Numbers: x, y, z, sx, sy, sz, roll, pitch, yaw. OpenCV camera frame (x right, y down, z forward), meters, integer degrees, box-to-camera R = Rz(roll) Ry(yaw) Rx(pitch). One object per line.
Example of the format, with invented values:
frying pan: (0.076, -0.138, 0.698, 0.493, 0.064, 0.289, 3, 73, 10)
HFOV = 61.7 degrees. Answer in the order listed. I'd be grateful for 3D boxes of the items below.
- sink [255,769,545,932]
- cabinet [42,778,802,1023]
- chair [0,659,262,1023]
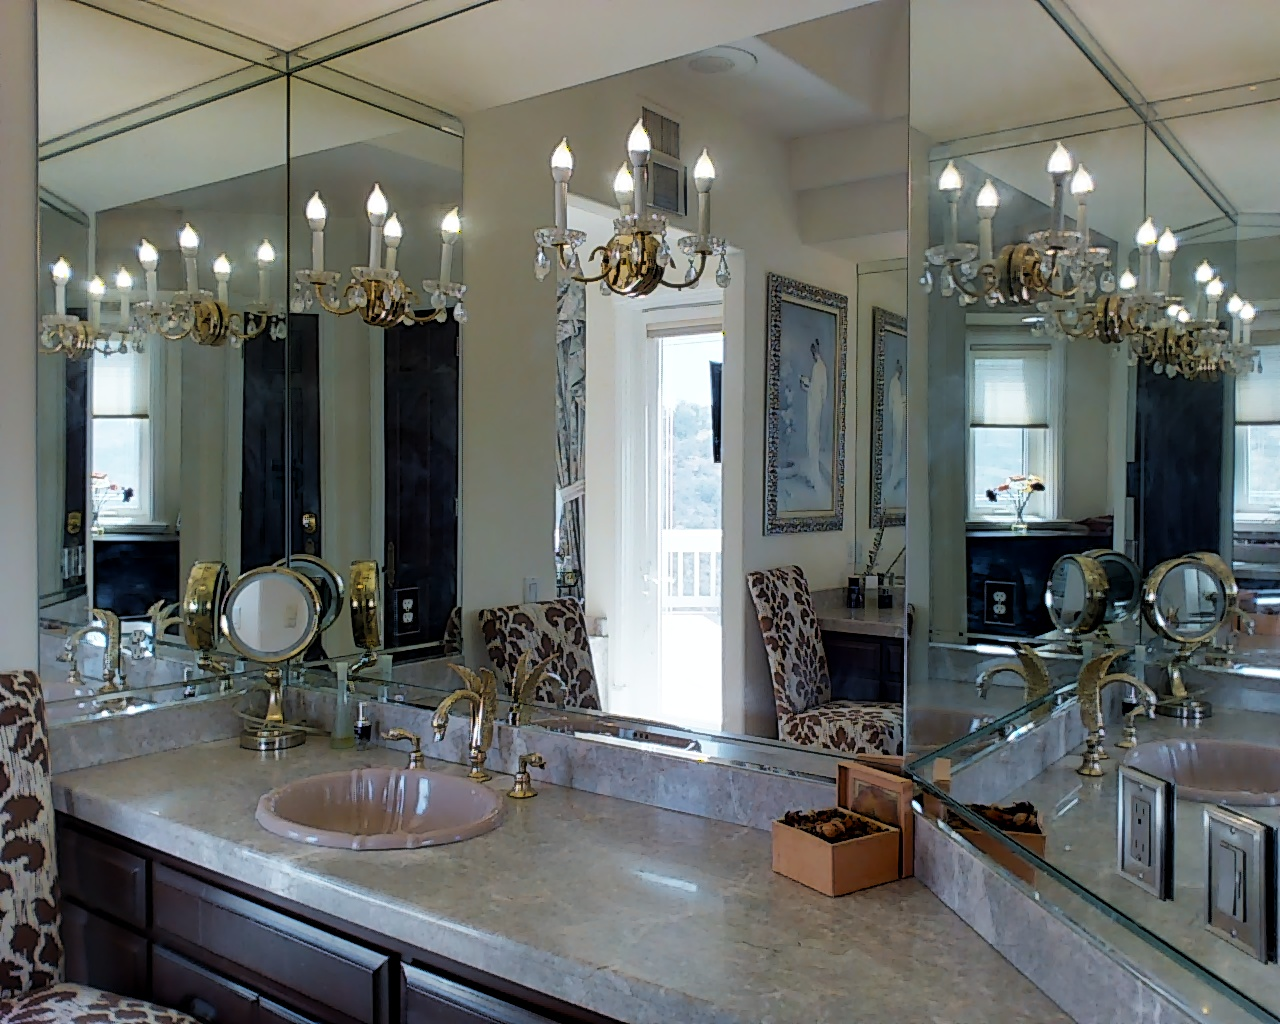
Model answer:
sink: (-0.480, 0.650, 2.120, 0.510, 0.140, 0.300, 1, 1, 37)
cabinet: (-0.340, 0.980, 1.630, 2.250, 0.760, 0.080, 1, 1, 37)
chair: (-1.130, 0.840, 1.920, 0.690, 1.020, 0.560, 1, 1, 37)
